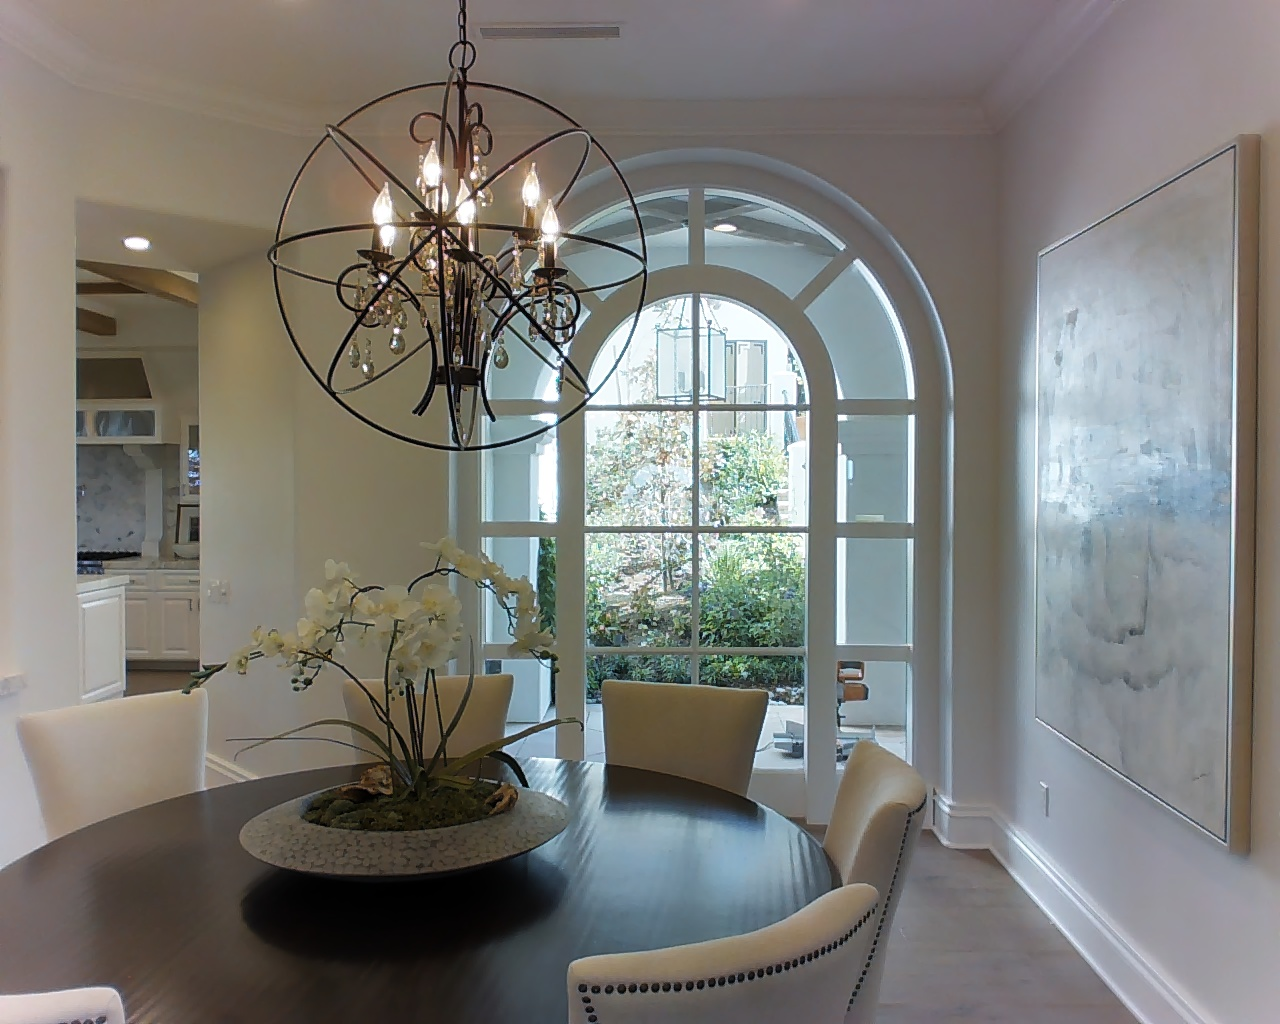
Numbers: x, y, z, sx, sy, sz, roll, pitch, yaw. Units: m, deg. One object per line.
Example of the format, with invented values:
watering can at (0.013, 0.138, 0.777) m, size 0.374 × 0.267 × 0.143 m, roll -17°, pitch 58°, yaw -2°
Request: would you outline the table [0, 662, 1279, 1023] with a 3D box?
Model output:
table at (-0.070, 1.180, 3.130) m, size 2.229 × 0.960 × 3.190 m, roll 0°, pitch 1°, yaw 2°
